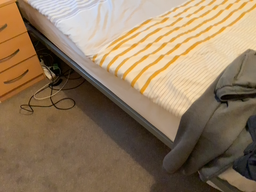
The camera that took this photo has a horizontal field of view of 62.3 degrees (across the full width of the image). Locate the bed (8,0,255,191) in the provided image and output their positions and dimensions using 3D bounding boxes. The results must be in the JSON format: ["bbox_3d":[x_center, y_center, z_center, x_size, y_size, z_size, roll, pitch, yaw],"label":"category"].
[{"bbox_3d":[0.250,-0.450,1.570,1.320,0.570,2.100,-36,57,-26],"label":"bed"}]
